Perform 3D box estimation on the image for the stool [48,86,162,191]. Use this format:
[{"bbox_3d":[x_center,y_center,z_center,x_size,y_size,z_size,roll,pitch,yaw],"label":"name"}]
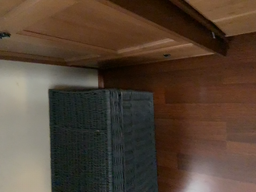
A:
[{"bbox_3d":[-0.130,0.360,1.290,0.500,0.450,0.820,0,92,37],"label":"stool"}]
